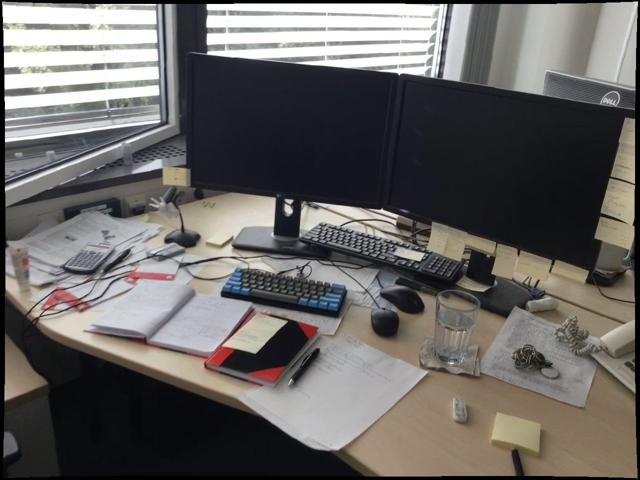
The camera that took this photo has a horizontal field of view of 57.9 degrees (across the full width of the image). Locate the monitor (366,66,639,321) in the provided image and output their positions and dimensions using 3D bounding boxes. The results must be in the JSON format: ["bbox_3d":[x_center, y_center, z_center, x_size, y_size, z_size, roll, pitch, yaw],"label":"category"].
[{"bbox_3d":[0.430,-0.140,1.380,0.650,0.430,0.120,22,31,34],"label":"monitor"}]

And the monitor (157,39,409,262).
[{"bbox_3d":[-0.100,-0.250,1.590,0.619,0.510,0.190,7,25,7],"label":"monitor"}]

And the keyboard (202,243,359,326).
[{"bbox_3d":[-0.090,0.100,1.410,0.320,0.040,0.220,12,26,16],"label":"keyboard"}]

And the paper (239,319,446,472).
[{"bbox_3d":[0.050,0.270,1.090,0.230,0.030,0.330,24,32,36],"label":"paper"}]

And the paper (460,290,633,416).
[{"bbox_3d":[0.480,0.220,1.220,0.250,0.050,0.280,24,32,36],"label":"paper"}]

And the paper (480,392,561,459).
[{"bbox_3d":[0.350,0.320,1.010,0.100,0.020,0.100,24,32,36],"label":"paper"}]
